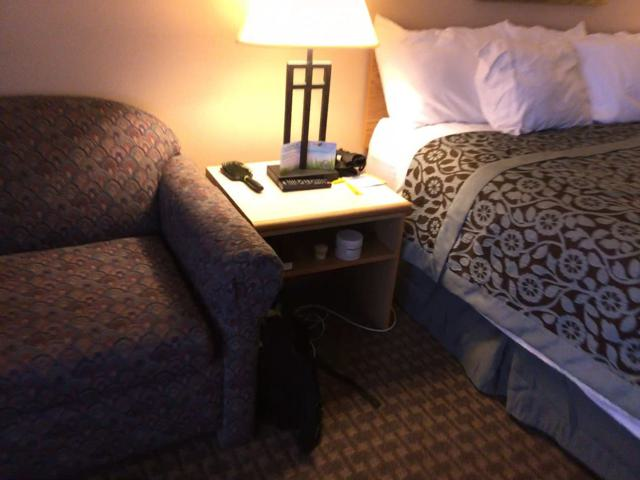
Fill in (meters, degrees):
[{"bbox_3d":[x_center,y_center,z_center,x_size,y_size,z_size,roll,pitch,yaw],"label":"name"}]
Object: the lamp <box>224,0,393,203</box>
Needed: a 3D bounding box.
[{"bbox_3d":[-0.040,-0.510,1.820,0.450,0.690,0.230,-10,27,-24],"label":"lamp"}]
